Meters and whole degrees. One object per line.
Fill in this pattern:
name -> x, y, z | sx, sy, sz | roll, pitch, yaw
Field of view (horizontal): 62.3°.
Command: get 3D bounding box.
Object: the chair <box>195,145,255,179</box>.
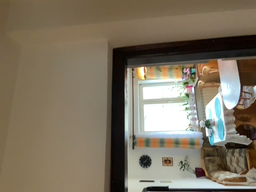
chair -> 1.960, 1.280, 4.210 | 1.790, 0.860, 0.520 | 66, -158, -73

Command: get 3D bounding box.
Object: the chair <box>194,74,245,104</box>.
chair -> 1.920, -0.140, 4.540 | 0.430, 0.890, 0.500 | 65, -156, -73
